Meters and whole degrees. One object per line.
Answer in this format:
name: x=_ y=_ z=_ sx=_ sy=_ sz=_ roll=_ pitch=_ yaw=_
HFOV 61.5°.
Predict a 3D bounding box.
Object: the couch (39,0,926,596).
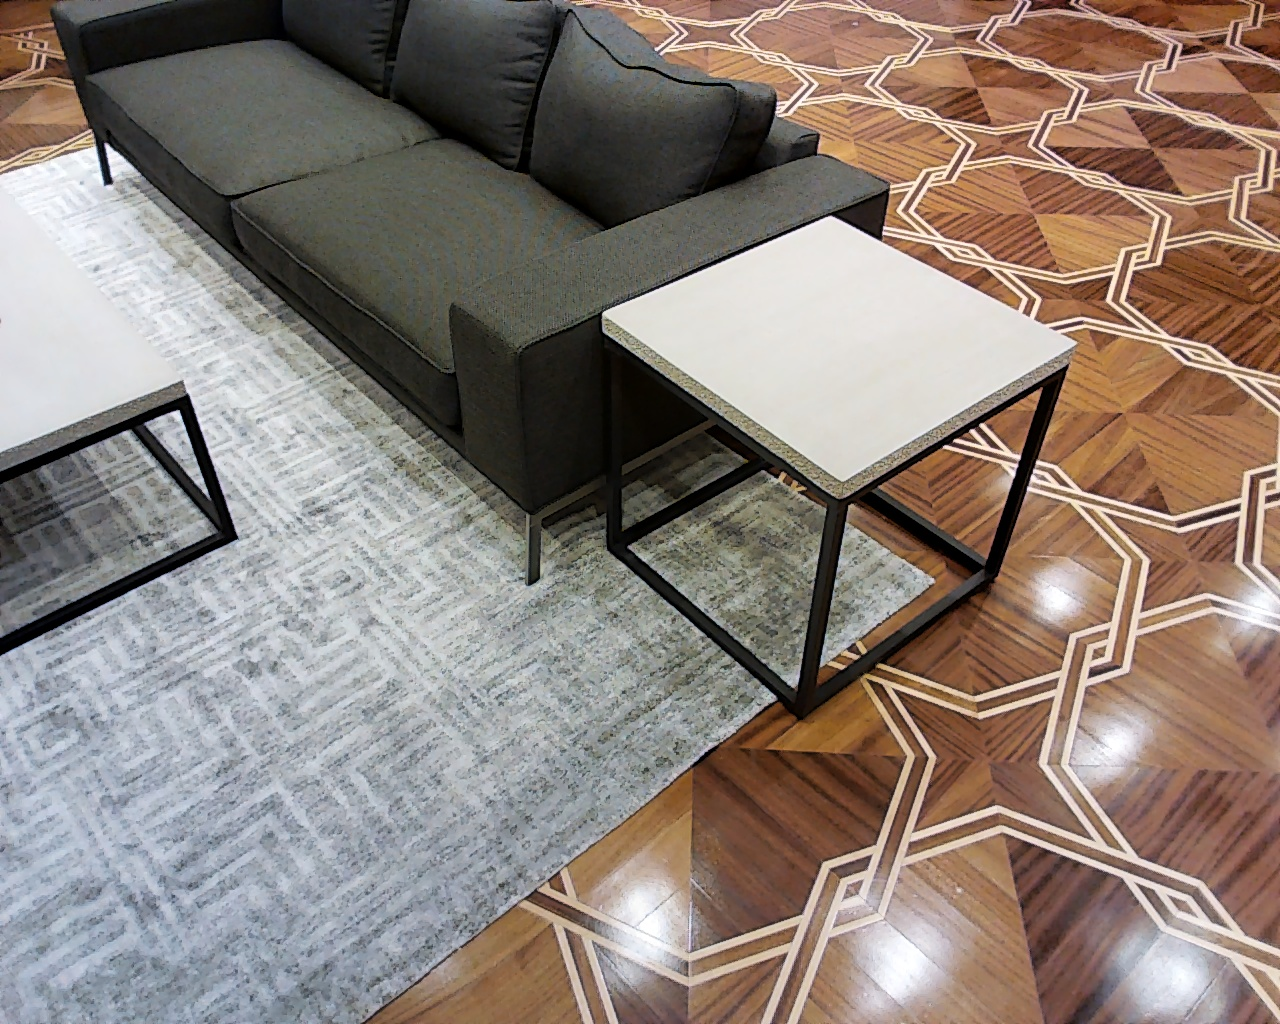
couch: x=-0.620 y=-1.010 z=2.970 sx=1.070 sy=0.850 sz=2.500 roll=-30 pitch=50 yaw=-28
